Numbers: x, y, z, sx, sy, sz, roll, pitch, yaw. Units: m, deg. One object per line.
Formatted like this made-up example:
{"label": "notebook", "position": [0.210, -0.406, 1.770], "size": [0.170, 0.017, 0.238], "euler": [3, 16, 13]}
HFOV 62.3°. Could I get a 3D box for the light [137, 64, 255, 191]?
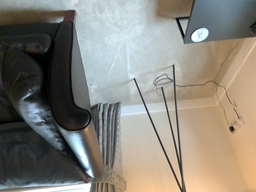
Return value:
{"label": "light", "position": [0.440, 0.570, 1.610], "size": [0.500, 1.440, 0.760], "euler": [-4, 148, -5]}
